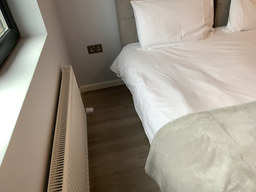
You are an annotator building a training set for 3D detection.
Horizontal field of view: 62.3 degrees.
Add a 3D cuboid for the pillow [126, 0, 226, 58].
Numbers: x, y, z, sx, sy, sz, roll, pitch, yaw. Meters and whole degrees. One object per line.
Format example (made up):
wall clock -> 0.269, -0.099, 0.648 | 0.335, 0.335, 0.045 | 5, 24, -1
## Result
pillow -> 0.420, -0.670, 1.910 | 0.740, 0.460, 0.200 | 8, 30, -20
